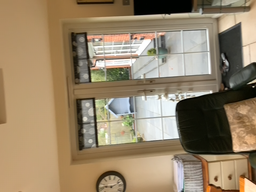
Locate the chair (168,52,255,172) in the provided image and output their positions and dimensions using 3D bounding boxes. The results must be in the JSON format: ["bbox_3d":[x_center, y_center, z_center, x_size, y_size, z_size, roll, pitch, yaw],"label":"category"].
[{"bbox_3d":[0.950,0.140,1.680,0.810,0.980,0.690,110,155,-75],"label":"chair"}]
